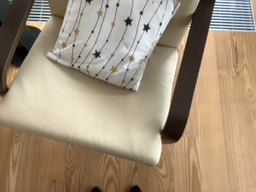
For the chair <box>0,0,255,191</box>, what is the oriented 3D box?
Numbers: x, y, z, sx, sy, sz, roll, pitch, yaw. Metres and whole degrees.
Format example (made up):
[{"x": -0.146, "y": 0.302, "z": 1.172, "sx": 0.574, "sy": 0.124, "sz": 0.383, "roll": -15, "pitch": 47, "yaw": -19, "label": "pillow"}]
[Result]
[{"x": -0.050, "y": -0.260, "z": 0.720, "sx": 0.720, "sy": 0.980, "sz": 0.860, "roll": 18, "pitch": 75, "yaw": 1, "label": "chair"}]
